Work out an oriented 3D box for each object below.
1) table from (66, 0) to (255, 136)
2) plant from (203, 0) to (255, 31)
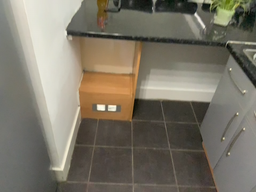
[{"bbox_3d":[0.380,-0.330,2.040,1.620,0.900,0.960,4,40,-3],"label":"table"},{"bbox_3d":[0.770,-0.720,1.620,0.280,0.280,0.320,17,41,12],"label":"plant"}]
